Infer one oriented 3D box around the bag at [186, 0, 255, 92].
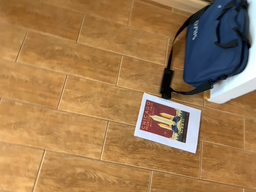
[{"bbox_3d":[0.400,-0.250,0.970,0.110,0.320,0.370,12,71,-10],"label":"bag"}]
